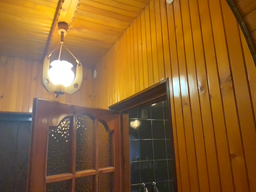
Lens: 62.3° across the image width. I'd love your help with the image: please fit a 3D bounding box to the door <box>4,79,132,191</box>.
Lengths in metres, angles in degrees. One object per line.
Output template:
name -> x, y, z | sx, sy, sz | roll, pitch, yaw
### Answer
door -> -0.310, 1.000, 1.360 | 0.140, 2.070, 0.940 | -11, -16, 37
